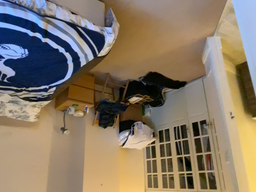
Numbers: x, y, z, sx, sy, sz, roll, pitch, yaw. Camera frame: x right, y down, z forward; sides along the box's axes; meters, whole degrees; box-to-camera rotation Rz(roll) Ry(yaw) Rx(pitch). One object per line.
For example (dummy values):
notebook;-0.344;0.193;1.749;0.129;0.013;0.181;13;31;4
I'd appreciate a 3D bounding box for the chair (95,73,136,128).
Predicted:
chair;-0.210;0.100;3.480;0.420;0.720;0.510;14;155;-36
